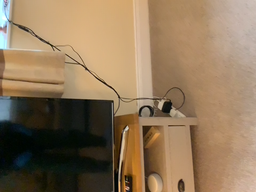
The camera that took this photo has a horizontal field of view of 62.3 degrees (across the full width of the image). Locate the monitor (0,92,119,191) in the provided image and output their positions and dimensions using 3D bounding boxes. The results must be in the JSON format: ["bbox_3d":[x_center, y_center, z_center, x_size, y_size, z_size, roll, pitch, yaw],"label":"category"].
[{"bbox_3d":[-0.300,0.480,0.950,0.040,0.570,0.960,-15,73,57],"label":"monitor"}]

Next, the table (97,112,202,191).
[{"bbox_3d":[0.110,0.500,1.260,0.420,0.460,0.780,-13,75,58],"label":"table"}]
